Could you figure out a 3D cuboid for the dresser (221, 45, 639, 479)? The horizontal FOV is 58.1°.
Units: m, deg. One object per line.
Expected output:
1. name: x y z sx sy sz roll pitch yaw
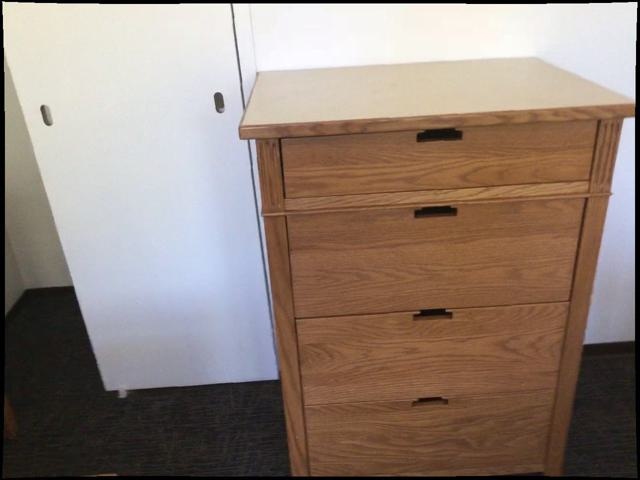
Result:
1. dresser: 0.249 0.110 1.590 0.818 1.082 0.590 -6 28 -1
